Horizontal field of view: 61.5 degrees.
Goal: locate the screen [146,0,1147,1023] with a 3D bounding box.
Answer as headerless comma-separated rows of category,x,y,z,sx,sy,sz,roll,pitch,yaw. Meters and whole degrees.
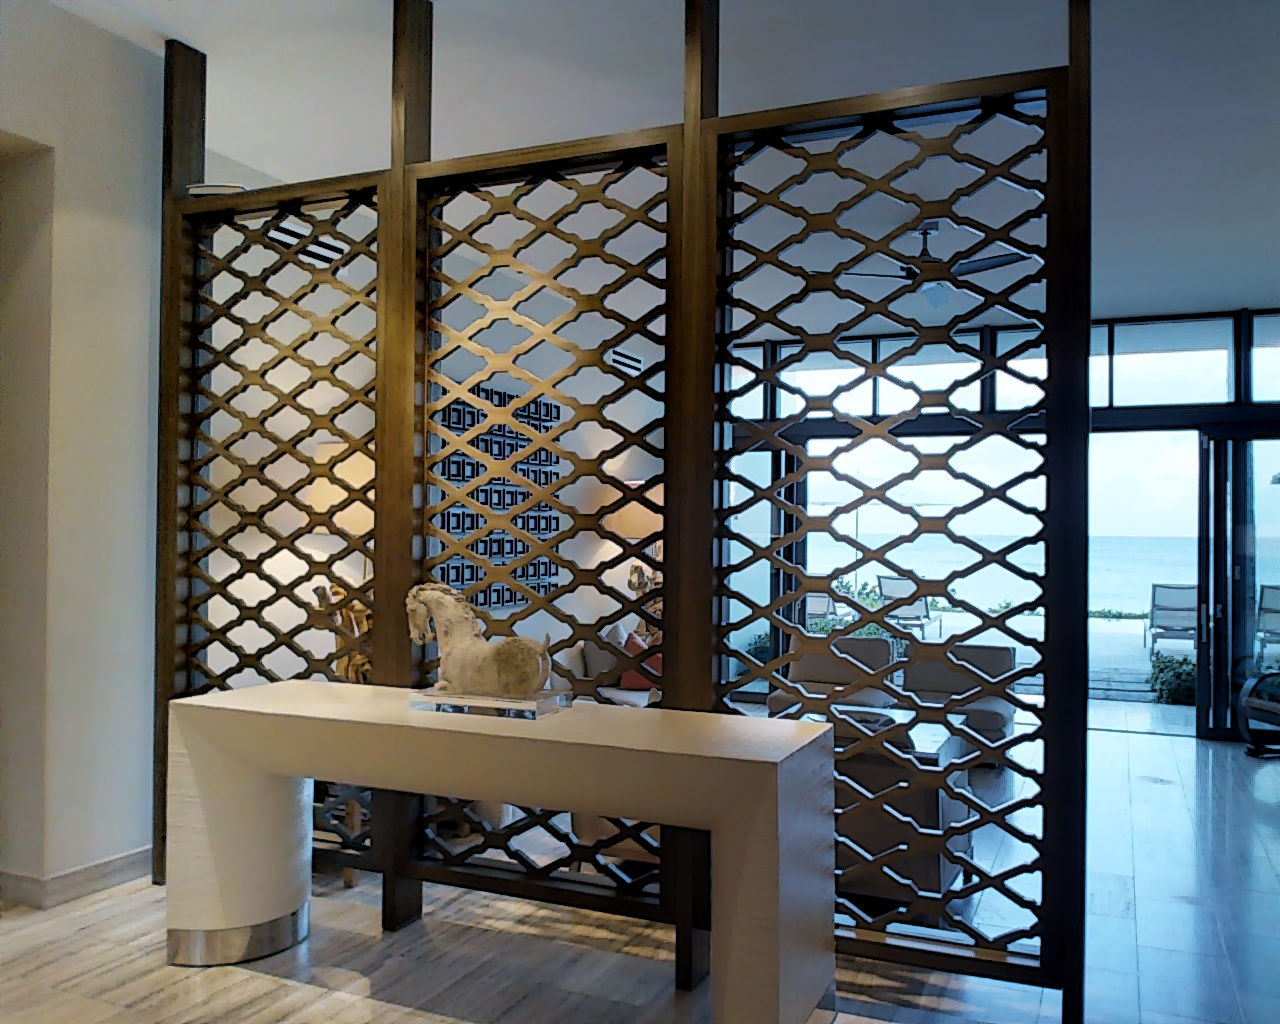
screen,-0.250,-0.170,3.390,3.330,3.140,0.220,0,0,25
